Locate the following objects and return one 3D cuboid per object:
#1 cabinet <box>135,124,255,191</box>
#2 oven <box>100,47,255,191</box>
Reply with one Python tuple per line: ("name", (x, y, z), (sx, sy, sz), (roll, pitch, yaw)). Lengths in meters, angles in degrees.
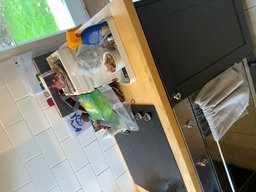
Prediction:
("cabinet", (0.610, 0.600, 1.450), (0.590, 0.880, 0.400), (-4, 111, 57))
("oven", (0.430, 0.150, 1.350), (0.590, 0.890, 0.570), (-4, 111, 57))
